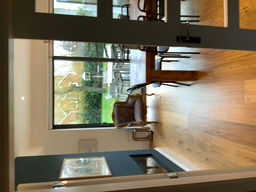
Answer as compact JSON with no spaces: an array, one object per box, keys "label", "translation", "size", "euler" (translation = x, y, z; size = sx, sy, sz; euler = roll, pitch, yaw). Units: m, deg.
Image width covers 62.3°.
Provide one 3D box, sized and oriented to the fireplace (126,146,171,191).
[{"label":"fireplace","translation":[0.280,1.120,3.350],"size":[0.940,0.440,0.400],"euler":[-178,88,-77]}]
